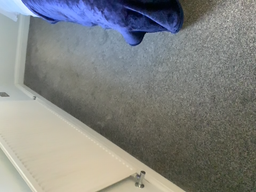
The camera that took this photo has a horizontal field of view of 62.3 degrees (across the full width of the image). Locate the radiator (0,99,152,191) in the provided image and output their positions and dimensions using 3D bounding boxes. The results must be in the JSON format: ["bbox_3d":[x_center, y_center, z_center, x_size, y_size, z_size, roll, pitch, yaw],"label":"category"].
[{"bbox_3d":[-0.550,0.270,1.570,1.280,0.750,0.060,23,107,38],"label":"radiator"}]
